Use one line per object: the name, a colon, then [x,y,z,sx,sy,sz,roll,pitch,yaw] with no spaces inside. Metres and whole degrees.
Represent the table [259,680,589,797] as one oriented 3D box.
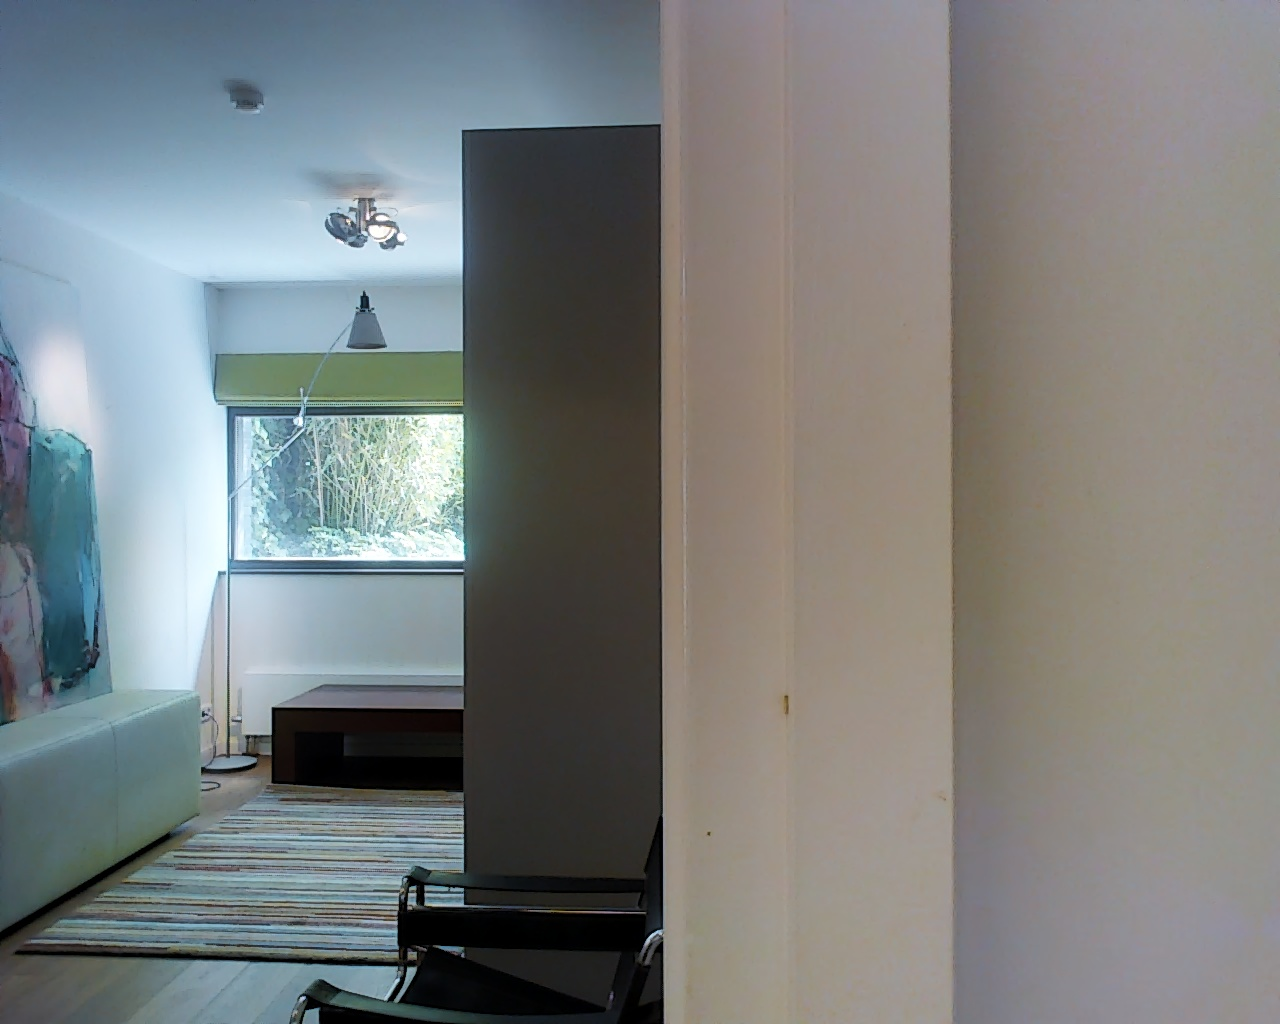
table: [-1.090,1.170,5.680,1.550,0.430,0.790,0,0,5]
